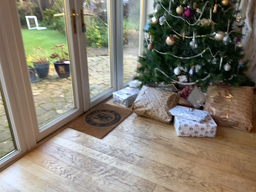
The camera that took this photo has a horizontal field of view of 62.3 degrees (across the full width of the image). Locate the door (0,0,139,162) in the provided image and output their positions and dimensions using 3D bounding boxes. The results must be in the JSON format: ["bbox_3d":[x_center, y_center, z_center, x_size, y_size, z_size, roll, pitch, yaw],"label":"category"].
[{"bbox_3d":[-0.550,-0.790,2.070,0.120,1.980,3.010,11,26,24],"label":"door"}]
